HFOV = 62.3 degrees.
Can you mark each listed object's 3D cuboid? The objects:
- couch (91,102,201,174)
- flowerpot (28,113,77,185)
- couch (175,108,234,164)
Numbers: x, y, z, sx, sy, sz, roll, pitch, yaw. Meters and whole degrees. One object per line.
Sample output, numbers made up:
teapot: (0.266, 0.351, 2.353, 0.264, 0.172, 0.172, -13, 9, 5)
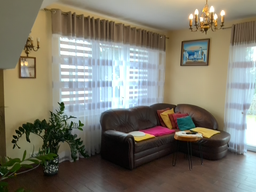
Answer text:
couch: (0.500, 0.700, 4.510, 1.020, 0.870, 2.400, 6, 7, 44)
flowerpot: (-1.210, 0.790, 3.380, 0.580, 0.900, 0.560, -3, 6, -37)
couch: (1.600, 0.750, 4.390, 0.750, 0.840, 1.040, 6, 7, 44)
